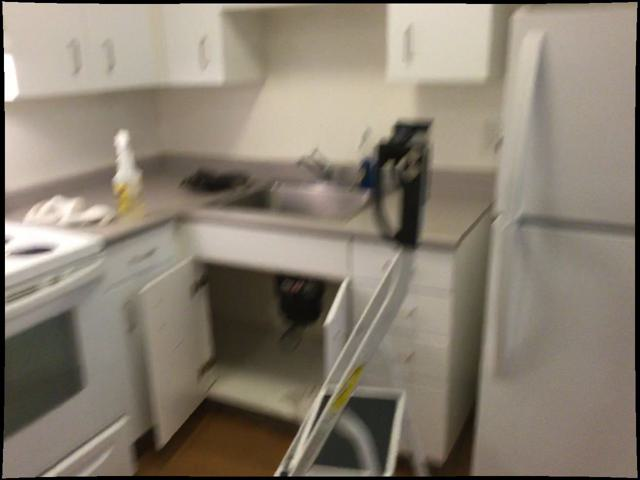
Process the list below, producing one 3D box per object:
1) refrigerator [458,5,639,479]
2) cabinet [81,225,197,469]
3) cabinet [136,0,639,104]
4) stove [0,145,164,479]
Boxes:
[{"bbox_3d":[0.778,0.241,1.460,0.778,1.554,0.170,7,21,26],"label":"refrigerator"},{"bbox_3d":[-0.678,0.411,2.250,0.090,0.862,0.370,7,21,26],"label":"cabinet"},{"bbox_3d":[0.339,-0.902,2.040,2.315,0.772,0.340,7,21,26],"label":"cabinet"},{"bbox_3d":[-1.167,0.391,1.860,0.739,1.233,0.890,7,21,26],"label":"stove"}]
